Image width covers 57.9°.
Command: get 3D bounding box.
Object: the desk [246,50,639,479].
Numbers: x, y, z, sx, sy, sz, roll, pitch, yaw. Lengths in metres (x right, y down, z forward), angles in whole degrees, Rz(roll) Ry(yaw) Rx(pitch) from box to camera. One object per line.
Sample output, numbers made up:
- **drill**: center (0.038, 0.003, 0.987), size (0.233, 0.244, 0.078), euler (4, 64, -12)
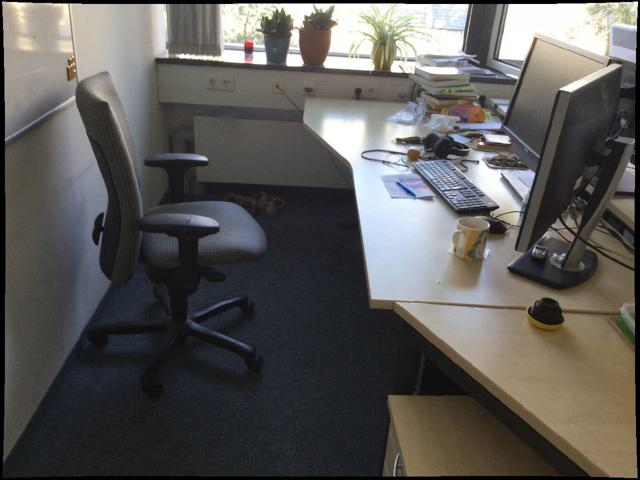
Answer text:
- **desk**: center (0.899, 0.080, 2.040), size (1.988, 0.831, 2.901), euler (2, 29, -1)
